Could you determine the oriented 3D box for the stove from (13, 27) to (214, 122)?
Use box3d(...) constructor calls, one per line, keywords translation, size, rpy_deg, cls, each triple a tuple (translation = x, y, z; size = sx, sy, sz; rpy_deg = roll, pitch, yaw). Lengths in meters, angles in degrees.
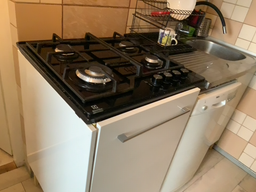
box3d(translation=(-0.060, -0.170, 0.900), size=(0.610, 0.060, 0.600), rpy_deg=(-16, 40, -39), cls="stove")
